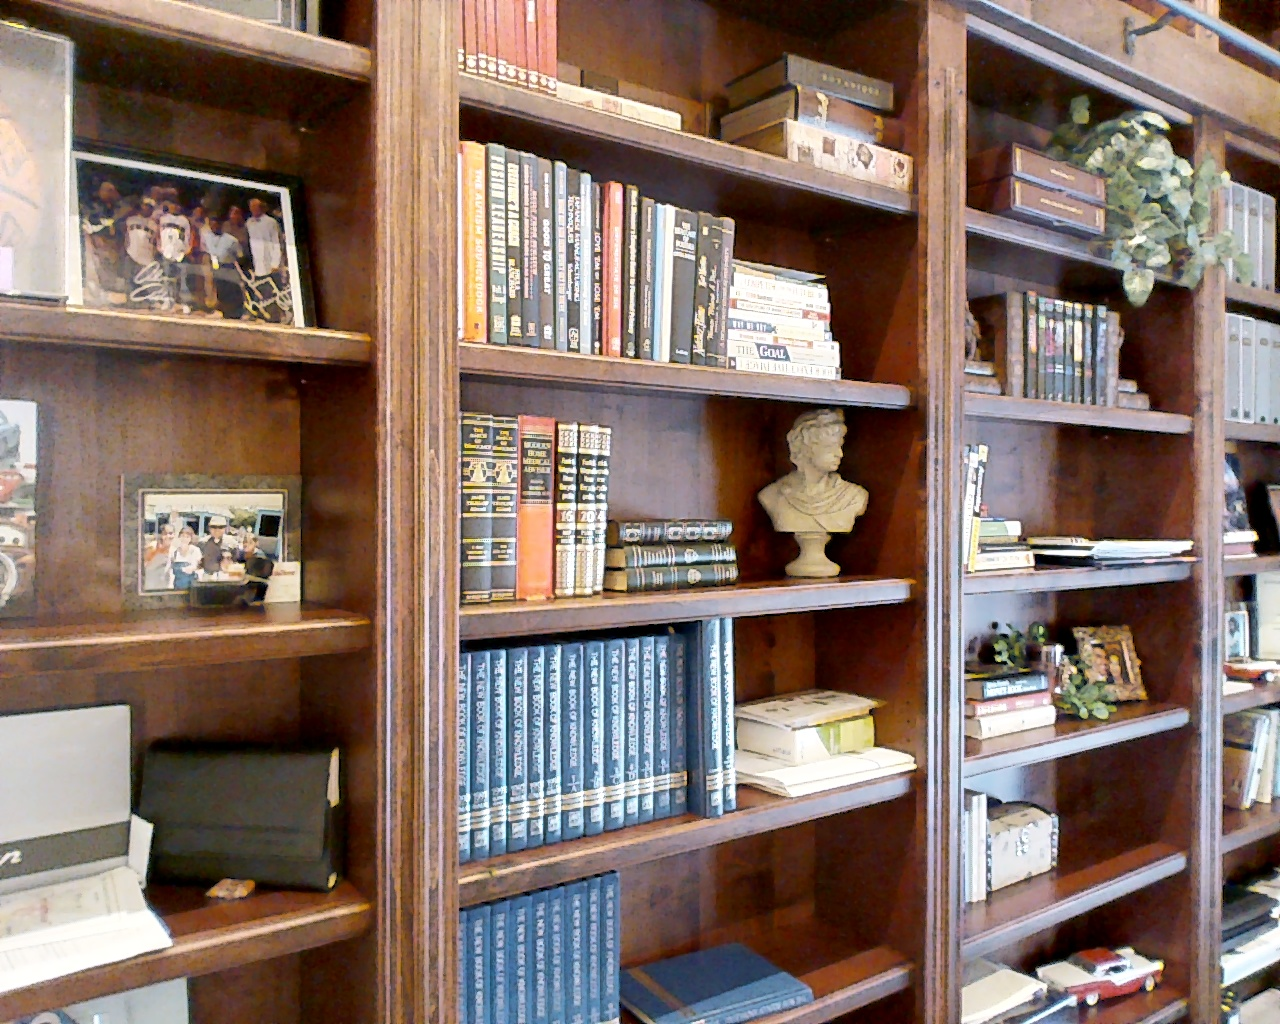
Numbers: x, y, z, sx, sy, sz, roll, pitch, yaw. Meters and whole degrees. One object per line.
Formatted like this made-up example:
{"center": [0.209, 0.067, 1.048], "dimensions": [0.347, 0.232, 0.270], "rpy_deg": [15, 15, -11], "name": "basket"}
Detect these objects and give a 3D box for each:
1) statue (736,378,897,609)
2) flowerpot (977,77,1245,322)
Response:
{"center": [0.300, -0.030, 1.830], "dimensions": [0.200, 0.370, 0.180], "rpy_deg": [-1, 0, -28], "name": "statue"}
{"center": [1.010, -0.640, 2.290], "dimensions": [0.450, 0.370, 0.340], "rpy_deg": [-1, 0, -35], "name": "flowerpot"}
